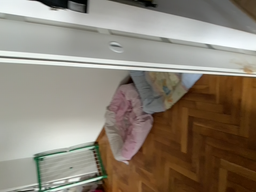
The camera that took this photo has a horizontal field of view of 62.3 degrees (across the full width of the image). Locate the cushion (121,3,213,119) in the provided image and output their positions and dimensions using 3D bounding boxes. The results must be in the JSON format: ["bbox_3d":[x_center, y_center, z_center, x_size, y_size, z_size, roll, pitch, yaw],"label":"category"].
[{"bbox_3d":[0.280,-0.290,1.980,0.850,0.210,0.610,-60,43,42],"label":"cushion"}]

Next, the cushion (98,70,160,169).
[{"bbox_3d":[-0.060,0.300,2.550,0.960,0.150,0.740,-62,41,40],"label":"cushion"}]
